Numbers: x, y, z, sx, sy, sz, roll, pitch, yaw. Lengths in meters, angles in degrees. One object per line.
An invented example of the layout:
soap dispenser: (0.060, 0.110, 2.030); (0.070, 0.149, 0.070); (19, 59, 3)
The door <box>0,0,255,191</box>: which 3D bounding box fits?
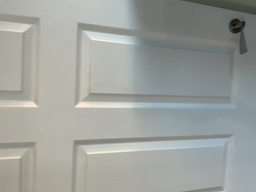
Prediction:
door: (0.370, 0.100, 0.810); (0.040, 1.980, 0.820); (-171, 83, -71)
